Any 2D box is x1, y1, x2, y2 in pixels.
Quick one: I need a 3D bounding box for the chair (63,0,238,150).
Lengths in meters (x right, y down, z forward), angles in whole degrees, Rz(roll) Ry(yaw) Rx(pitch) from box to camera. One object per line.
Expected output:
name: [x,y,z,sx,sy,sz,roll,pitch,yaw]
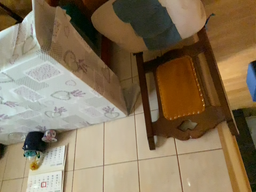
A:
chair: [0.120,-0.320,1.010,0.470,0.970,0.570,-15,149,22]
